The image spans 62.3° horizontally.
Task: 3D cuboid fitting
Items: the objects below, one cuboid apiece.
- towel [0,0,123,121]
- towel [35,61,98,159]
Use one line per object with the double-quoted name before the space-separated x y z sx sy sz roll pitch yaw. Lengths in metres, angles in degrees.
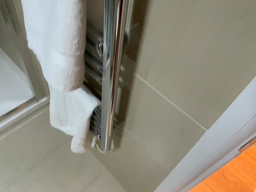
"towel" -0.190 -0.220 0.450 0.360 0.510 0.100 39 53 14
"towel" -0.250 0.080 0.860 0.210 0.400 0.090 41 53 15
